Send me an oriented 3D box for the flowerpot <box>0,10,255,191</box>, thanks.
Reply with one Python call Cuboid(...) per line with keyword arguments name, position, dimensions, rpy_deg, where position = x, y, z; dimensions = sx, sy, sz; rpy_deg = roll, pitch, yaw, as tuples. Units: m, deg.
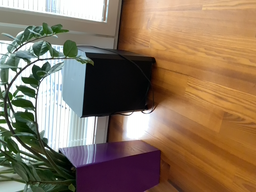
Cuboid(name="flowerpot", position=(-0.330, 0.240, 0.820), dimensions=(1.090, 1.050, 1.020), rpy_deg=(30, 117, 51))
